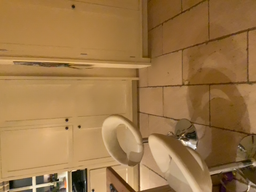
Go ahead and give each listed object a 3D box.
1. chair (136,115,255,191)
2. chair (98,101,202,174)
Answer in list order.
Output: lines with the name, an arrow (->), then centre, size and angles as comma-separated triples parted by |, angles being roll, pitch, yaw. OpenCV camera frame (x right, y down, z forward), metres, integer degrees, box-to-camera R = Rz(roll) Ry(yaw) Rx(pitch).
chair -> 0.580, 0.480, 1.430 | 0.480, 0.860, 0.470 | -125, 41, -52
chair -> 0.200, 0.420, 2.260 | 0.520, 0.860, 0.490 | 115, 145, -45
